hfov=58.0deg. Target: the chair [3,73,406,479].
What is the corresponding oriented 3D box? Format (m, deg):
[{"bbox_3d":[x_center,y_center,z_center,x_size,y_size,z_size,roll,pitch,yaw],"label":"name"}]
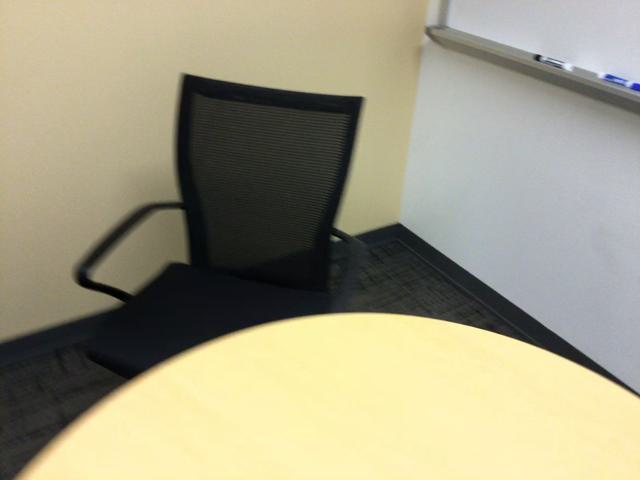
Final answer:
[{"bbox_3d":[-0.190,0.160,1.370,0.590,0.900,0.560,11,32,14],"label":"chair"}]
